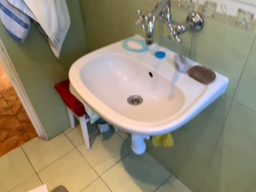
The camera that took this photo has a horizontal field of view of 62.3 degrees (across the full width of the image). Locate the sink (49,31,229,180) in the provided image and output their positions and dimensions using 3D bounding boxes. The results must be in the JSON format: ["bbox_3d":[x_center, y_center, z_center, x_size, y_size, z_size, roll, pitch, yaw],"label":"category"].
[{"bbox_3d":[0.020,-0.030,0.830,0.410,0.170,0.520,-32,49,-28],"label":"sink"}]
